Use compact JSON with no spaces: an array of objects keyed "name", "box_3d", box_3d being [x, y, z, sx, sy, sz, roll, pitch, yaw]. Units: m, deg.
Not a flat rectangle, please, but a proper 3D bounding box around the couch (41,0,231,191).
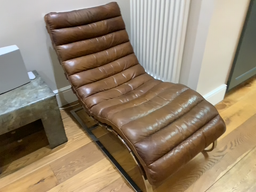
[{"name":"couch","box_3d":[-0.040,-0.120,1.500,0.620,0.800,1.060,-23,41,-28]}]
